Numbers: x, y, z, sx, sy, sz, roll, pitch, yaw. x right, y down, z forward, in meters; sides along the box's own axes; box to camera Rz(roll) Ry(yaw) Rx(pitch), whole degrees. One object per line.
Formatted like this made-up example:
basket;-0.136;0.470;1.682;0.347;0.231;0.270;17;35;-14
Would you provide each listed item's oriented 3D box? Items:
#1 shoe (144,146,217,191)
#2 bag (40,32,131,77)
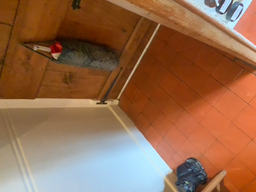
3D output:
shoe;0.350;0.550;1.420;0.300;0.300;0.230;44;118;35
bag;-0.260;-0.260;1.460;0.120;0.610;0.180;50;121;32
